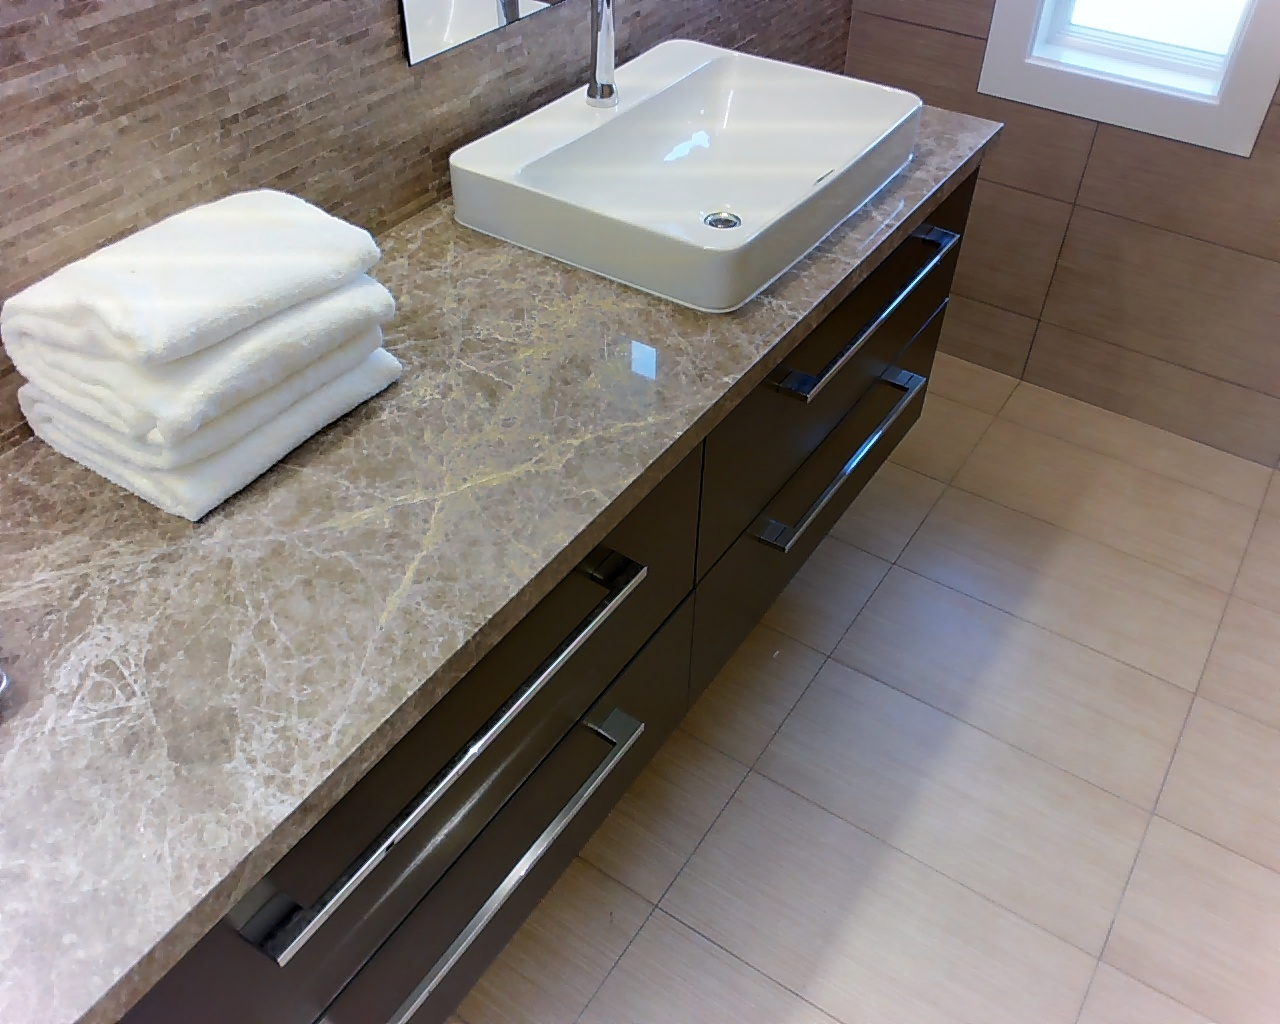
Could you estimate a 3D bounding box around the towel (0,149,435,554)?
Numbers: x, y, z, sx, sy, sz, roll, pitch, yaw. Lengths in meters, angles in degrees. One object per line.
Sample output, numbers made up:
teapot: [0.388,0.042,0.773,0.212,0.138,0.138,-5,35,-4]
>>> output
towel: [-0.430,-0.180,1.090,0.250,0.200,0.350,22,47,22]

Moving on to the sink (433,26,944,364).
sink: [0.090,-0.500,1.570,0.460,0.150,0.620,25,48,24]
